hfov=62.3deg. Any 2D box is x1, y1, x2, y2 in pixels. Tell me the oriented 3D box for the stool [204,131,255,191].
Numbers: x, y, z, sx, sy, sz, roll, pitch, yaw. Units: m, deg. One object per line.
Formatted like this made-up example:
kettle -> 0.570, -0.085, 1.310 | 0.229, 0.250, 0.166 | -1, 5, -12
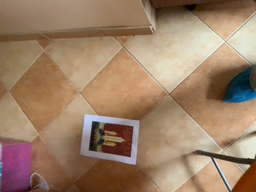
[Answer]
stool -> 0.410, 0.290, 0.680 | 0.280, 0.450, 0.290 | 2, 87, 16
